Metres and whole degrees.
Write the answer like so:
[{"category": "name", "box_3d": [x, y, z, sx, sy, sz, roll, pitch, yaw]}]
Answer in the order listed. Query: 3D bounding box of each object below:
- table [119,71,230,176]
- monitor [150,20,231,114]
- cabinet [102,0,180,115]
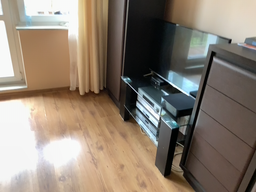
[{"category": "table", "box_3d": [0.360, 0.180, 2.100, 0.560, 0.500, 0.950, -8, 30, -22]}, {"category": "monitor", "box_3d": [0.470, -0.310, 1.890, 0.040, 0.570, 0.870, -8, 31, -24]}, {"category": "cabinet", "box_3d": [0.100, -0.840, 2.420, 0.560, 1.970, 0.700, -8, 30, -22]}]
